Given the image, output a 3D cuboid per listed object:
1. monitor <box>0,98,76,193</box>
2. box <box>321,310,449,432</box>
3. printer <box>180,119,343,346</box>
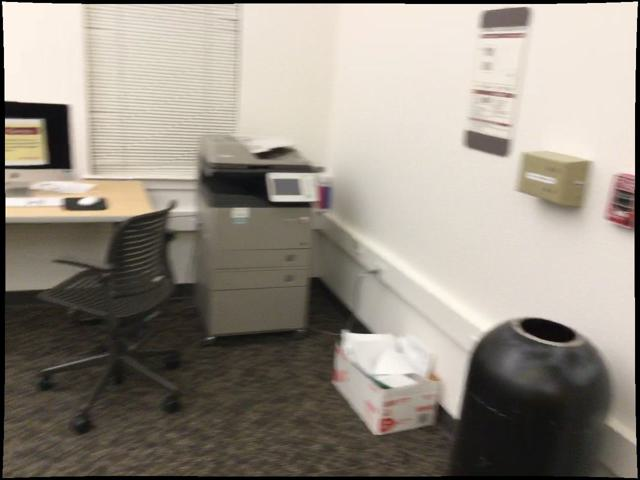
[{"bbox_3d":[-1.449,-0.450,2.730,0.520,0.400,0.270,-2,20,-21],"label":"monitor"},{"bbox_3d":[0.270,0.571,2.650,0.330,0.240,0.590,-2,20,-21],"label":"box"},{"bbox_3d":[-0.380,-0.090,3.220,0.669,1.021,0.800,-2,20,-21],"label":"printer"}]
